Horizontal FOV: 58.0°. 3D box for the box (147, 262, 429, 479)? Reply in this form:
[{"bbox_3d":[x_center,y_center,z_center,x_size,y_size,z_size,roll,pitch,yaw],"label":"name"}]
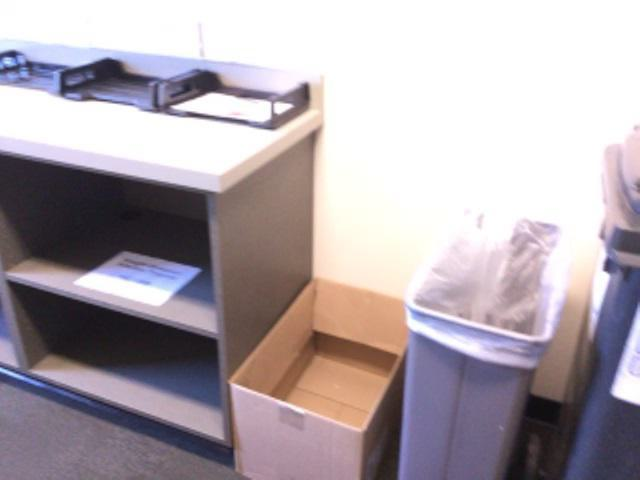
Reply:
[{"bbox_3d":[-0.060,0.420,1.730,0.620,0.380,0.590,11,26,18],"label":"box"}]

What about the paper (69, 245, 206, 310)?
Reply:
[{"bbox_3d":[-0.520,0.100,1.670,0.300,0.030,0.230,11,26,18],"label":"paper"}]

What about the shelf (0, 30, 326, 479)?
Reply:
[{"bbox_3d":[-1.530,-0.190,2.040,3.020,1.040,0.640,11,26,18],"label":"shelf"}]

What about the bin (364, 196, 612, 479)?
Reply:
[{"bbox_3d":[0.380,0.370,1.410,0.390,0.770,0.540,11,26,18],"label":"bin"}]
